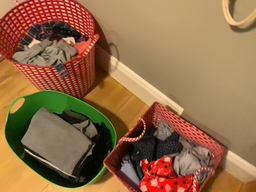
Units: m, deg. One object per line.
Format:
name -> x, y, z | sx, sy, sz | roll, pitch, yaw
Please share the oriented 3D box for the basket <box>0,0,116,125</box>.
basket -> -0.430, -0.240, 1.240 | 0.540, 0.460, 0.450 | 38, 68, 17
